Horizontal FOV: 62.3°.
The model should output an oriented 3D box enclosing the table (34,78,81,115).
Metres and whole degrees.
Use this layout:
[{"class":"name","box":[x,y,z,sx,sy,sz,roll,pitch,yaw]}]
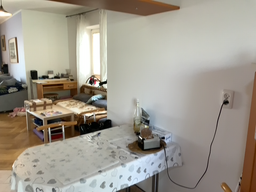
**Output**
[{"class":"table","box":[-1.900,-0.020,5.770,1.020,0.820,0.630,-8,14,-40]}]
